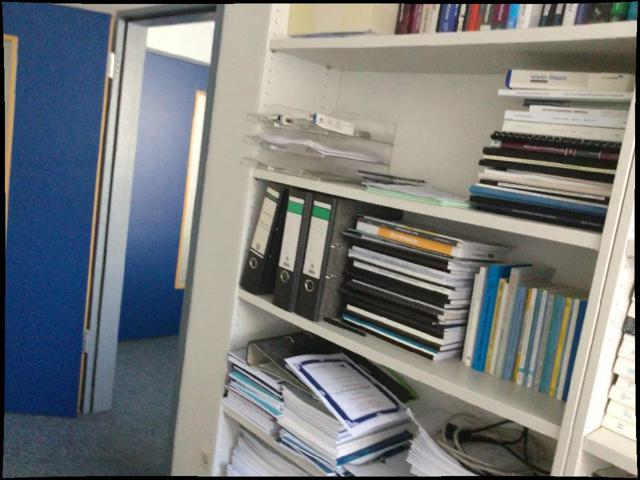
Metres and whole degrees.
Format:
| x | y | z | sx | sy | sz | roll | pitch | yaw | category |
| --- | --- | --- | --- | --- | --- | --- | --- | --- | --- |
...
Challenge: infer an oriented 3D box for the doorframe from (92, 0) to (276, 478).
| x | y | z | sx | sy | sz | roll | pitch | yaw | category |
| --- | --- | --- | --- | --- | --- | --- | --- | --- | --- |
| -0.709 | -0.050 | 2.730 | 0.270 | 2.012 | 0.890 | -2 | 15 | -43 | doorframe |
